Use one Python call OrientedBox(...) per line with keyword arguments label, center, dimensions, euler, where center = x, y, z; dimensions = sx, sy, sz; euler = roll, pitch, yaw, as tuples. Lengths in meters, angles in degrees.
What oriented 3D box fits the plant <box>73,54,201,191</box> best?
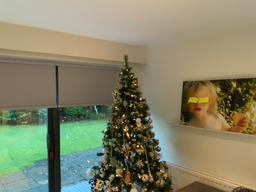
OrientedBox(label="plant", center=(0.100, 0.610, 2.650), dimensions=(1.150, 1.980, 1.080), euler=(-1, 2, -40))
